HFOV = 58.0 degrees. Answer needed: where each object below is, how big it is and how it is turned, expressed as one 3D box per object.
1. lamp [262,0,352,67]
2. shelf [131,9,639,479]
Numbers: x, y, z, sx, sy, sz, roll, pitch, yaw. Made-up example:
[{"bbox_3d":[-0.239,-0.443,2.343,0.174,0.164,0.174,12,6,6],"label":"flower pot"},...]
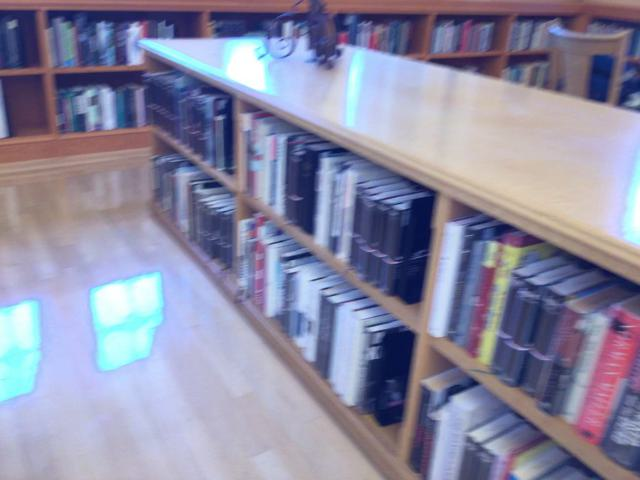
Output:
[{"bbox_3d":[-0.050,-0.740,1.940,0.160,0.270,0.300,-9,26,-31],"label":"lamp"},{"bbox_3d":[0.300,-0.030,1.660,0.880,0.790,2.680,-8,29,-33],"label":"shelf"}]
